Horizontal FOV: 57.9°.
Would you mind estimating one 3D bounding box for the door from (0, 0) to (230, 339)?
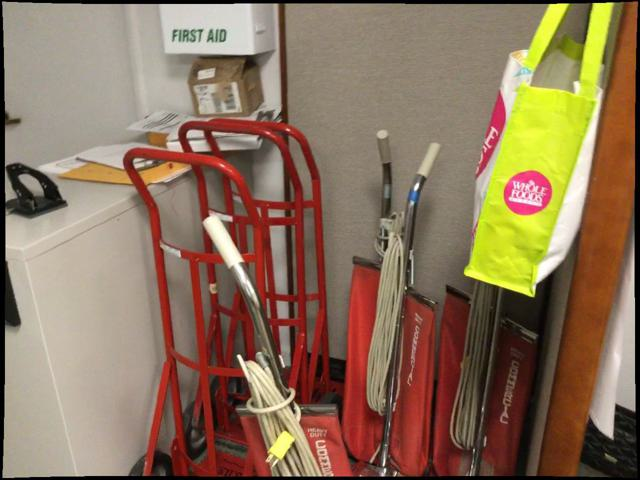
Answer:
[{"bbox_3d":[-1.009,-0.571,2.480,0.989,2.072,0.150,5,26,27],"label":"door"}]

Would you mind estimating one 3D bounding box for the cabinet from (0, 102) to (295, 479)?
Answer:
[{"bbox_3d":[-0.649,0.160,1.930,0.540,0.991,1.120,5,26,26],"label":"cabinet"}]
